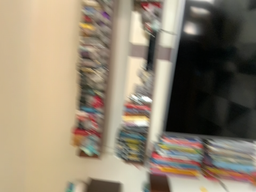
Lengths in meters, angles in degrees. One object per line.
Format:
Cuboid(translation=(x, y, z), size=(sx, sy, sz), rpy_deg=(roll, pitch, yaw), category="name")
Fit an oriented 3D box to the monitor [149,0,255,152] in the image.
Cuboid(translation=(0.640, -0.340, 1.250), size=(0.050, 0.710, 1.270), rpy_deg=(-69, -6, -79), category="monitor")
